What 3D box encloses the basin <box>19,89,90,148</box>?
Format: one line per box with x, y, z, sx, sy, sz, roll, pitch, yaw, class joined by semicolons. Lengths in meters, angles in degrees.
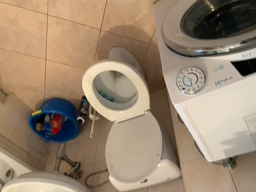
-0.600;0.200;1.780;0.400;0.210;0.350;-25;127;21;basin
